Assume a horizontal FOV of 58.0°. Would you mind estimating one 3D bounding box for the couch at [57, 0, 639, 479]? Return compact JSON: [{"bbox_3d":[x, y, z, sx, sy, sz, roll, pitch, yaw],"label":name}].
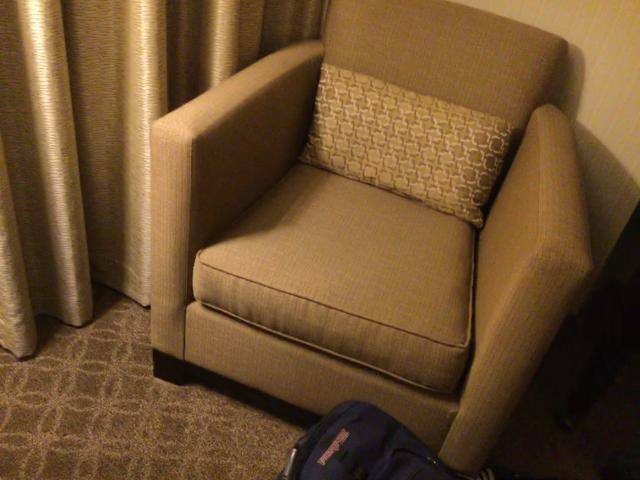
[{"bbox_3d":[0.130,-0.090,1.430,0.940,0.860,0.970,17,33,13],"label":"couch"}]
